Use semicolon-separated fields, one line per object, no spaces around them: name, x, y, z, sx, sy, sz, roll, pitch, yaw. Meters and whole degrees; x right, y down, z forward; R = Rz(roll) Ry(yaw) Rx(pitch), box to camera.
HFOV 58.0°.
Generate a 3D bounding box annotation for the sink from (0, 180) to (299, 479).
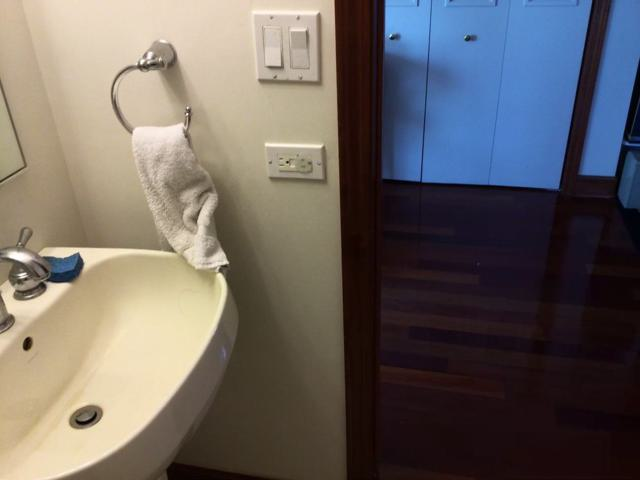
sink;-0.360;0.470;1.090;0.450;0.990;0.580;4;32;13
